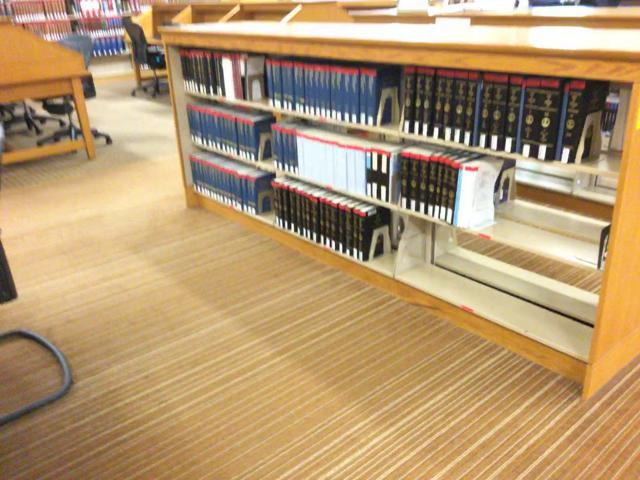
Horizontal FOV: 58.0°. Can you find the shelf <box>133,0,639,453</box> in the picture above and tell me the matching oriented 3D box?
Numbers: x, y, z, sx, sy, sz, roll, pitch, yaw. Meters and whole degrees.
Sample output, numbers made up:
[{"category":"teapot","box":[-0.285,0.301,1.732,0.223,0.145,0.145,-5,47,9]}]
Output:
[{"category":"shelf","box":[0.220,-0.480,2.820,0.790,1.320,2.880,-22,36,-39]}]
